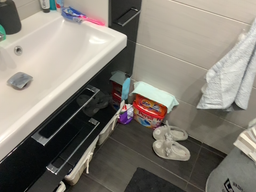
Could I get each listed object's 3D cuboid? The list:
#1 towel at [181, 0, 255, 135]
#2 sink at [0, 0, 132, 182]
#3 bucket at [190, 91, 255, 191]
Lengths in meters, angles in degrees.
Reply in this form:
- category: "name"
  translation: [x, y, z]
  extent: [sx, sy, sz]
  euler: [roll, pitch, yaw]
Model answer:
- category: "towel"
  translation: [0.490, -0.100, 1.020]
  extent: [0.250, 0.590, 0.180]
  euler: [33, 53, 21]
- category: "sink"
  translation: [-0.370, -0.080, 0.750]
  extent: [0.420, 0.120, 0.810]
  euler: [26, 50, 16]
- category: "bucket"
  translation: [0.720, 0.440, 1.100]
  extent: [0.550, 0.590, 0.480]
  euler: [29, 51, 18]
